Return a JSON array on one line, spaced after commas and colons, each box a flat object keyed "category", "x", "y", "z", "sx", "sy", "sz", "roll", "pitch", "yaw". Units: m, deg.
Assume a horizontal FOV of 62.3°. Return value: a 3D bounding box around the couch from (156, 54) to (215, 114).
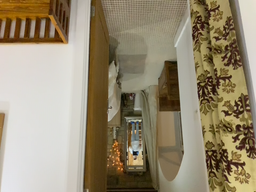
[{"category": "couch", "x": 0.970, "y": -0.150, "z": 3.910, "sx": 0.730, "sy": 0.780, "sz": 1.200, "roll": -1, "pitch": 166, "yaw": 1}]
